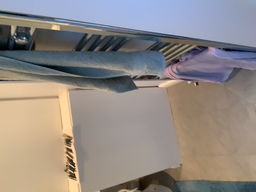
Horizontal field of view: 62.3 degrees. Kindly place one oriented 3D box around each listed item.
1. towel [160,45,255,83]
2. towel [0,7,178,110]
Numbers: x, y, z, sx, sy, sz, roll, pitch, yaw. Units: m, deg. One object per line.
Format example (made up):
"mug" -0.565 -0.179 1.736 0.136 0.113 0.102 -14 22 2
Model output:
"towel" 0.500 -0.150 1.140 0.420 0.480 0.090 -9 85 57
"towel" -0.210 -0.090 0.790 0.410 0.650 0.200 -18 78 56
